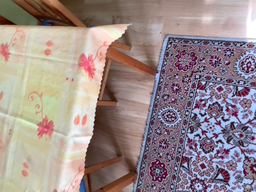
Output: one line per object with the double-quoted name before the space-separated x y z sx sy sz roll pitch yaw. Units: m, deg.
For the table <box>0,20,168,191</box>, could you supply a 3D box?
"table" -0.520 0.060 1.310 1.200 0.740 0.790 13 92 29
